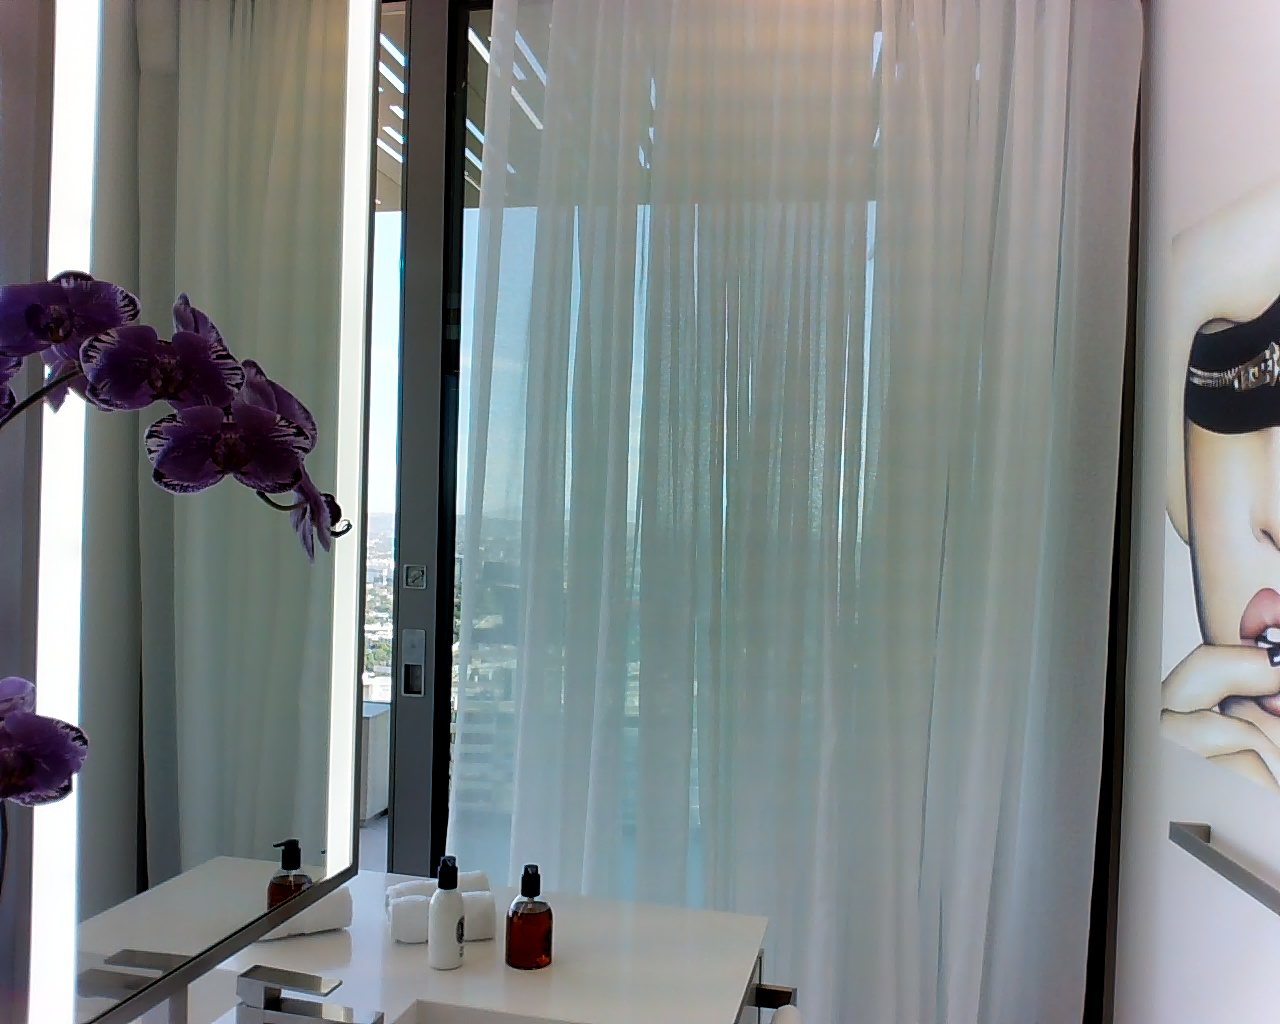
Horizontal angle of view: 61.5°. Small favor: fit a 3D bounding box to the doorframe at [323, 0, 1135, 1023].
[{"bbox_3d":[0.170,0.120,2.580,1.760,2.920,0.330,2,0,11],"label":"doorframe"}]
